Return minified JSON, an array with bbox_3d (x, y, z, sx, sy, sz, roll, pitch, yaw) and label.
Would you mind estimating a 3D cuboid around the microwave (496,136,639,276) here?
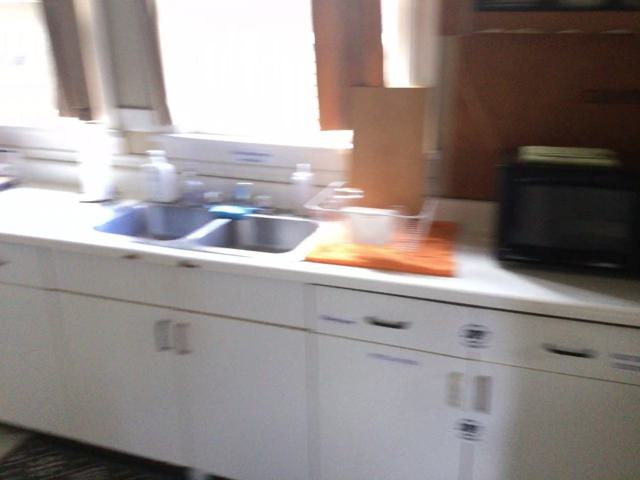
[{"bbox_3d":[0.800,-0.120,1.700,0.510,0.300,0.440,5,17,16],"label":"microwave"}]
